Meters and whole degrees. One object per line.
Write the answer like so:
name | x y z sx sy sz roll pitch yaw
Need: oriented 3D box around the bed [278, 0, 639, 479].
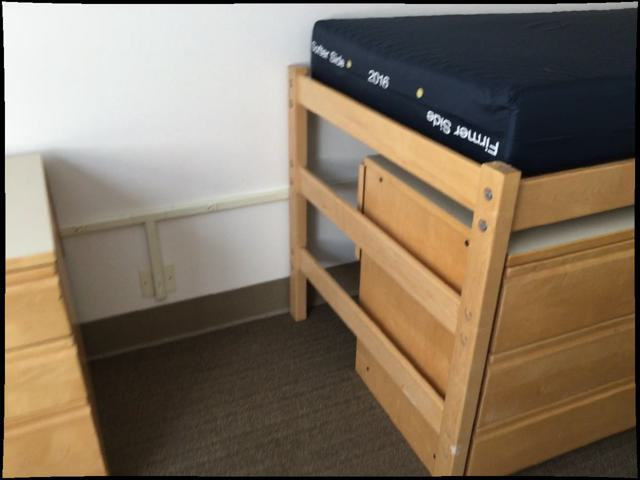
bed | 1.059 -0.210 1.960 2.138 1.081 1.040 -12 32 -22
